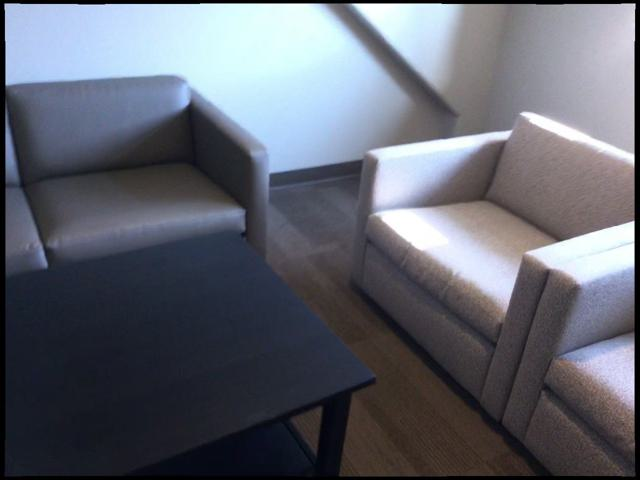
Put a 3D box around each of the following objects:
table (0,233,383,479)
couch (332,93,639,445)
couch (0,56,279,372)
[{"bbox_3d":[-0.589,0.461,1.340,1.208,0.441,0.740,-12,36,-28],"label":"table"},{"bbox_3d":[0.709,-0.010,2.080,0.909,0.701,0.930,-14,36,-30],"label":"couch"},{"bbox_3d":[-1.088,-0.140,2.070,1.598,0.721,0.920,-13,36,-29],"label":"couch"}]
